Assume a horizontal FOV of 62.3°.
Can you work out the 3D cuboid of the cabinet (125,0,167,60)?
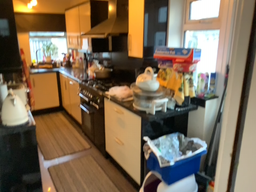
[{"bbox_3d":[0.190,-0.810,2.340,0.290,0.760,0.370,-9,19,-29],"label":"cabinet"}]
